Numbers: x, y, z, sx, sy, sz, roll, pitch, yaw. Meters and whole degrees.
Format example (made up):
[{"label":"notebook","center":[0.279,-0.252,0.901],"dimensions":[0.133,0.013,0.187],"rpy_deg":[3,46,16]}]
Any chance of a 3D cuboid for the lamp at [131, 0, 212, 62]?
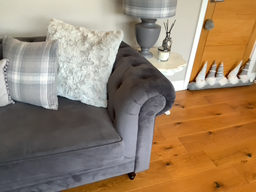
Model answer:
[{"label":"lamp","center":[0.340,-0.670,1.790],"dimensions":[0.480,0.620,0.390],"rpy_deg":[-7,34,-19]}]
